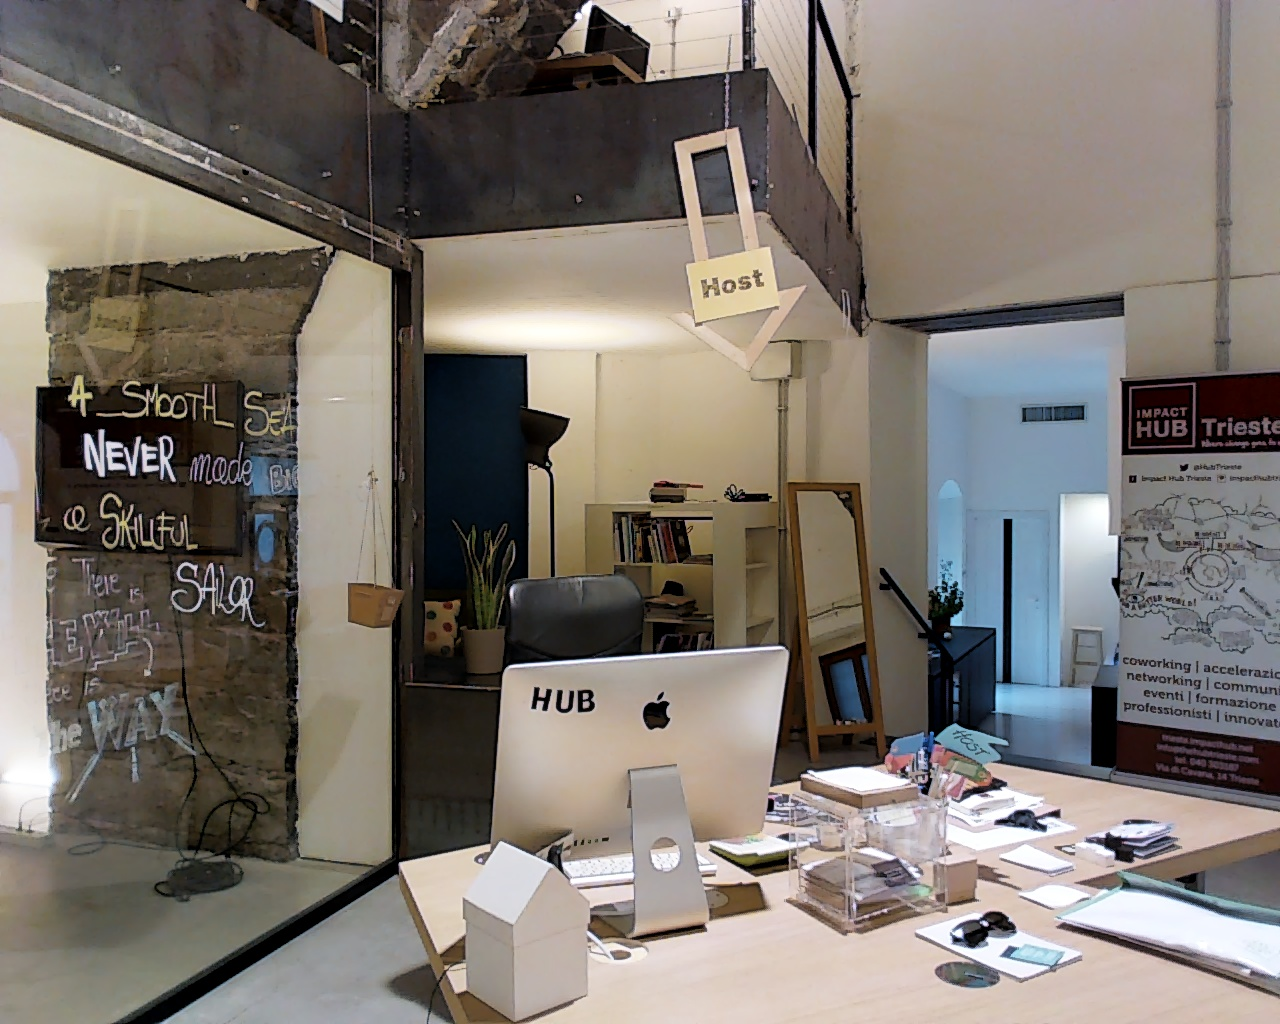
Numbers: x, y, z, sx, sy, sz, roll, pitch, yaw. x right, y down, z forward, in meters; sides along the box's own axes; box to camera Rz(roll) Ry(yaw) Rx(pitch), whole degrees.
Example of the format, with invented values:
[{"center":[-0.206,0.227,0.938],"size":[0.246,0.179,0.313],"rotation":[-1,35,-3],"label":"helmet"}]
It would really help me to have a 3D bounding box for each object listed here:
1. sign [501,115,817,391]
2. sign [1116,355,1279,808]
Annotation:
[{"center":[0.050,-0.910,3.910],"size":[1.160,0.890,0.130],"rotation":[0,1,18],"label":"sign"},{"center":[2.839,0.320,5.240],"size":[0.920,2.101,0.200],"rotation":[1,1,41],"label":"sign"}]
